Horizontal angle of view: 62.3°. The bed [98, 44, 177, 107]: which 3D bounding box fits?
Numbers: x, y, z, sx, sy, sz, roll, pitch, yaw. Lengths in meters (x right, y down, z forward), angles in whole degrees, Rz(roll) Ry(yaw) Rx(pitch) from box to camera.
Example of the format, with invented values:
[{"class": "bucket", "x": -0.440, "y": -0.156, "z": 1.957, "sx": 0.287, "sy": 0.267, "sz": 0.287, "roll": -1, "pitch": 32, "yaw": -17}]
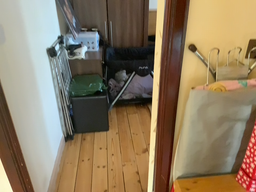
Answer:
[{"class": "bed", "x": 0.100, "y": -0.350, "z": 3.290, "sx": 1.050, "sy": 0.690, "sz": 0.770, "roll": -3, "pitch": 28, "yaw": -5}]
